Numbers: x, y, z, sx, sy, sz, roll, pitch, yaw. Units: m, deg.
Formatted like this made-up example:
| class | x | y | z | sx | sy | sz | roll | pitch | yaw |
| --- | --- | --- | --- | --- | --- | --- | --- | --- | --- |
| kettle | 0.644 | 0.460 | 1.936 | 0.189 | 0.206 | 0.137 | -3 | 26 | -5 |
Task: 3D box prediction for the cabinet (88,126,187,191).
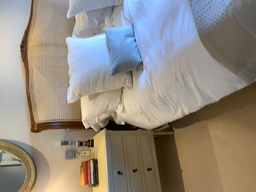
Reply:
| class | x | y | z | sx | sy | sz | roll | pitch | yaw |
| --- | --- | --- | --- | --- | --- | --- | --- | --- | --- |
| cabinet | 0.070 | 0.730 | 2.110 | 0.470 | 0.790 | 0.730 | 138 | 129 | -57 |
